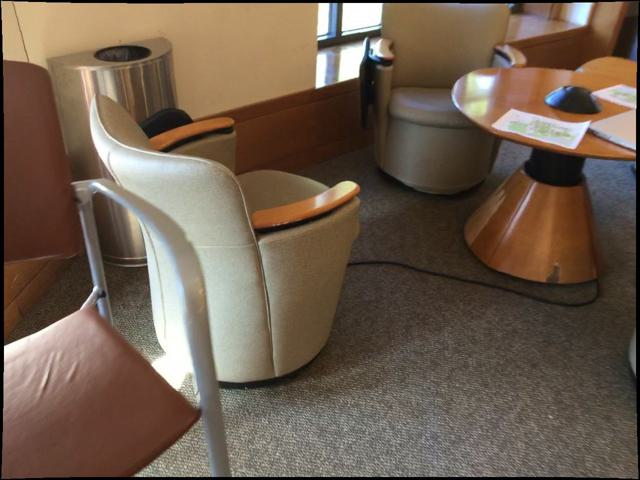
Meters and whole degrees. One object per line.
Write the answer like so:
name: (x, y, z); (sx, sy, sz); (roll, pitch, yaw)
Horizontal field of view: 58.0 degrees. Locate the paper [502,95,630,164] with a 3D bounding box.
paper: (0.808, -0.371, 1.890); (0.320, 0.030, 0.310); (22, 42, 26)
